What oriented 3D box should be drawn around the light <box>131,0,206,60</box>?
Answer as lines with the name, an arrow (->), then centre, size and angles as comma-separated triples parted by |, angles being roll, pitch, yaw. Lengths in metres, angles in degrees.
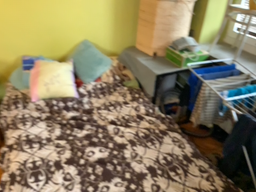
light -> 0.400, -0.770, 2.260 | 0.590, 0.630, 0.380 | -8, 33, -21
